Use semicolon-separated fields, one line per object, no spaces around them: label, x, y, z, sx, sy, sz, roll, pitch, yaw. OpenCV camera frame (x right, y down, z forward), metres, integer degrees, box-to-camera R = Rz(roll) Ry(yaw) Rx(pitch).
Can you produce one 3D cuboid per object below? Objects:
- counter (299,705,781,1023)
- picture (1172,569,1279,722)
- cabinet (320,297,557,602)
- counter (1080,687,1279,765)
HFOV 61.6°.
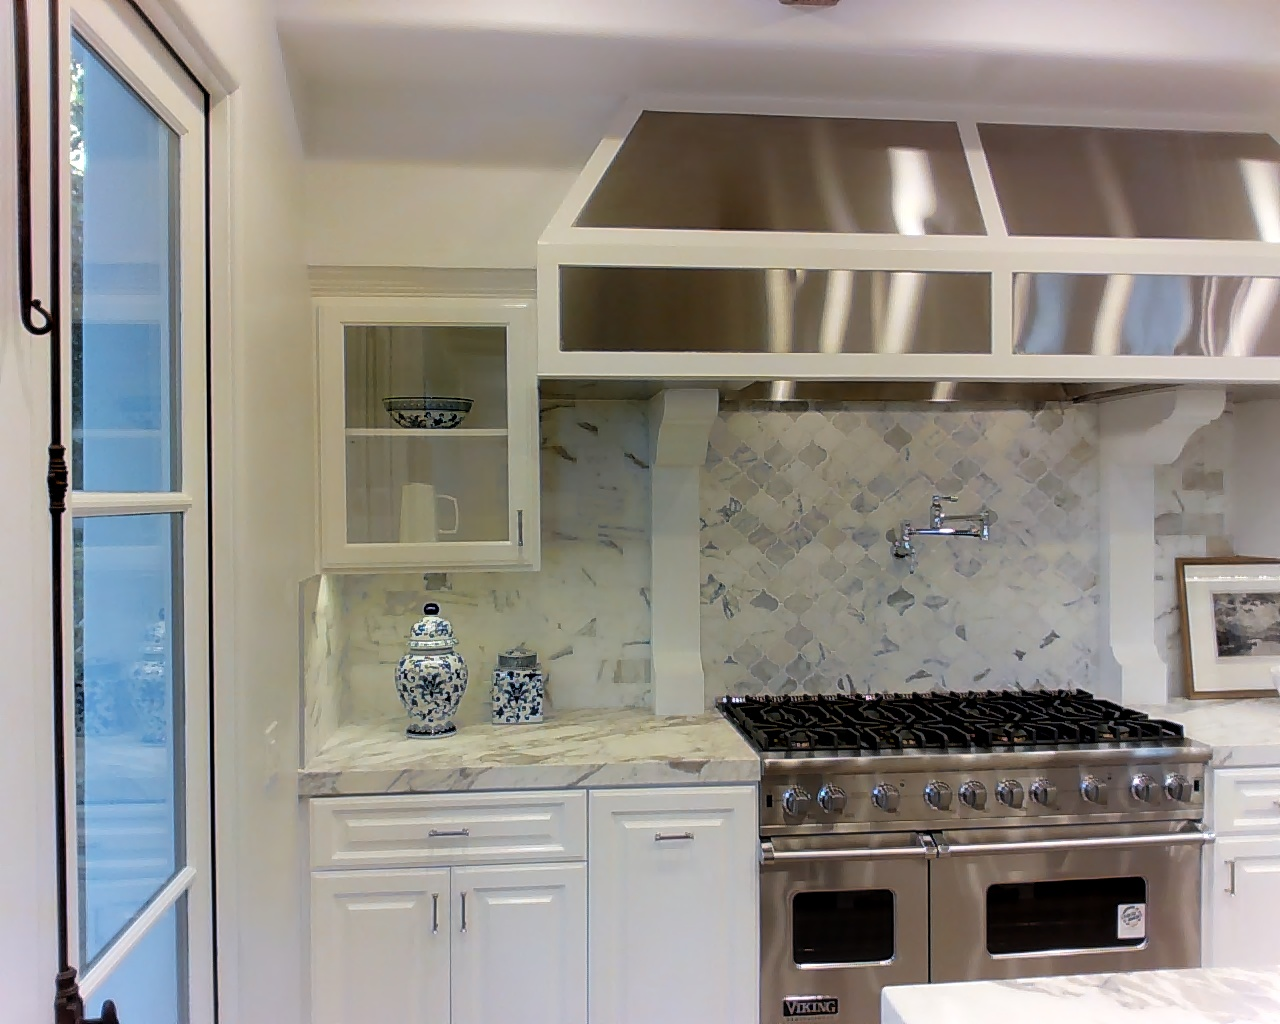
counter;-0.270;1.110;3.040;1.200;0.970;0.700;0;0;-6
picture;2.079;0.430;3.580;0.540;0.440;0.070;-9;1;-5
cabinet;-0.560;-0.170;3.120;0.620;0.810;0.480;0;0;-6
counter;2.059;0.630;3.260;1.160;0.080;0.670;0;0;-6
